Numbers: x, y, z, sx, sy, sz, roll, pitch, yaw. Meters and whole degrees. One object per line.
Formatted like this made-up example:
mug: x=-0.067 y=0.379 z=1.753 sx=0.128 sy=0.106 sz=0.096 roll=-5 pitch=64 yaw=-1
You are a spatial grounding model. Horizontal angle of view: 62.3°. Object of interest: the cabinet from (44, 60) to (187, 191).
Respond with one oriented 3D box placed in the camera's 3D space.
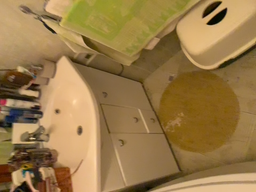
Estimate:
cabinet: x=-0.090 y=0.260 z=1.530 sx=0.390 sy=0.760 sz=0.790 roll=-39 pitch=59 yaw=30
